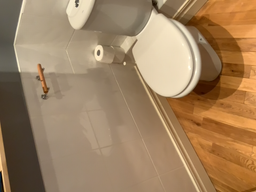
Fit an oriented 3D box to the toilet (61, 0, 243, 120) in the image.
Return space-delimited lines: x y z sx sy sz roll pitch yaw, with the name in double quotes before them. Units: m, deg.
"toilet" 0.160 -0.300 1.310 0.400 0.880 0.680 -43 61 43
